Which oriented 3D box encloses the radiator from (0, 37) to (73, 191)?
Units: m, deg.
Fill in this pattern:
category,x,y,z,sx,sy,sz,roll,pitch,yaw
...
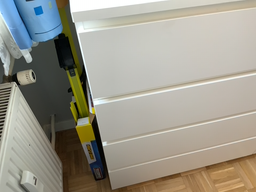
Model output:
category,x,y,z,sx,sy,sz,roll,pitch,yaw
radiator,-0.370,0.280,0.850,0.150,0.730,0.690,-12,49,-10
